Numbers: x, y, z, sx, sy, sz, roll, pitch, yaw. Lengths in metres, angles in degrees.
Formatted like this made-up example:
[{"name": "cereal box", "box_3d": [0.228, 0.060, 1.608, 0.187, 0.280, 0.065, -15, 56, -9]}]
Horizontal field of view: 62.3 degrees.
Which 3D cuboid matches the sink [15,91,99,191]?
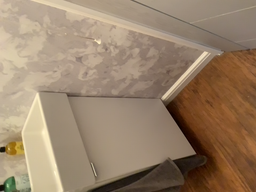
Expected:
[{"name": "sink", "box_3d": [-0.340, 0.270, 0.910, 0.420, 0.130, 0.400, -52, 53, 34]}]
